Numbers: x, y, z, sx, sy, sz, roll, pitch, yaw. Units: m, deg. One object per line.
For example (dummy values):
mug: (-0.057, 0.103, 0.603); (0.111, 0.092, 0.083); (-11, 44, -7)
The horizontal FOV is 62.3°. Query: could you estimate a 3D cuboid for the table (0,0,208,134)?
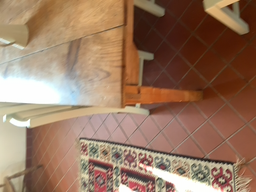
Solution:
table: (-0.410, -0.340, 1.510); (1.650, 0.780, 0.880); (2, 91, 43)
